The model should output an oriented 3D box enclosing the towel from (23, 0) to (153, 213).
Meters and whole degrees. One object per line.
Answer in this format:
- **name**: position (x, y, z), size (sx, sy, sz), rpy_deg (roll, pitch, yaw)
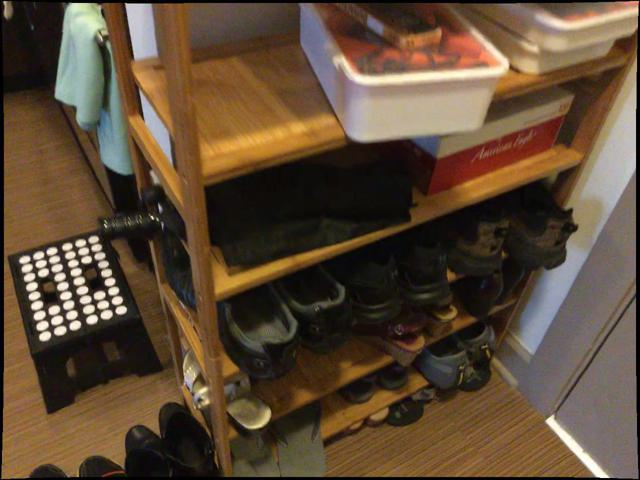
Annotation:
- **towel**: position (-0.409, -0.241, 1.050), size (0.110, 0.350, 0.170), rpy_deg (-24, 59, -26)
